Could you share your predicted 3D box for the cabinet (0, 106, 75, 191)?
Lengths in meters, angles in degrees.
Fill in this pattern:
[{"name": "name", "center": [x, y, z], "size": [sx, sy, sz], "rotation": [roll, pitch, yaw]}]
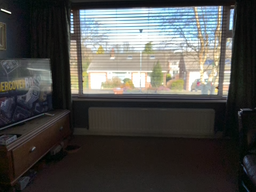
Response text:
[{"name": "cabinet", "center": [-1.250, 0.540, 2.660], "size": [0.610, 0.490, 1.490], "rotation": [1, 10, 7]}]
